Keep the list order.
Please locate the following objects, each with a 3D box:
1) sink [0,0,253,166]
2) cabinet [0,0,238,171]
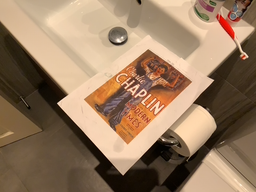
[{"bbox_3d":[-0.060,-0.210,0.650,0.480,0.140,0.640,-40,73,-18],"label":"sink"},{"bbox_3d":[-0.060,-0.130,0.840,0.470,0.410,0.620,-40,73,-18],"label":"cabinet"}]
